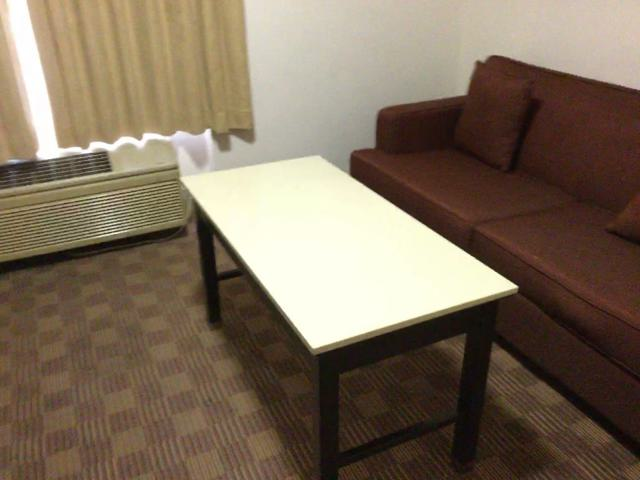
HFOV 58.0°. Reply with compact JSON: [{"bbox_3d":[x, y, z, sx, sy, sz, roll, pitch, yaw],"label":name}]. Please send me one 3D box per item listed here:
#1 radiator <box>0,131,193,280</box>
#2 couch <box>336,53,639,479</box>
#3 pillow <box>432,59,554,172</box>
[{"bbox_3d":[-1.170,-0.150,2.580,1.120,0.510,0.200,-12,28,-23],"label":"radiator"},{"bbox_3d":[0.910,-0.130,2.210,0.950,0.860,1.850,-12,28,-23],"label":"couch"},{"bbox_3d":[0.760,-0.580,2.620,0.240,0.390,0.470,-12,28,-23],"label":"pillow"}]
